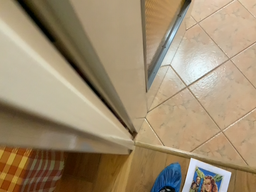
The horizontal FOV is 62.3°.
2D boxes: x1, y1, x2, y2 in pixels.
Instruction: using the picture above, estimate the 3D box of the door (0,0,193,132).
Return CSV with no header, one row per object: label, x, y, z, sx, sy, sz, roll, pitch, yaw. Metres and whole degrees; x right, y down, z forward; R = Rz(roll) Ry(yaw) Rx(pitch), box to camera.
door,0.080,-0.450,0.360,0.110,1.920,0.840,23,78,11
